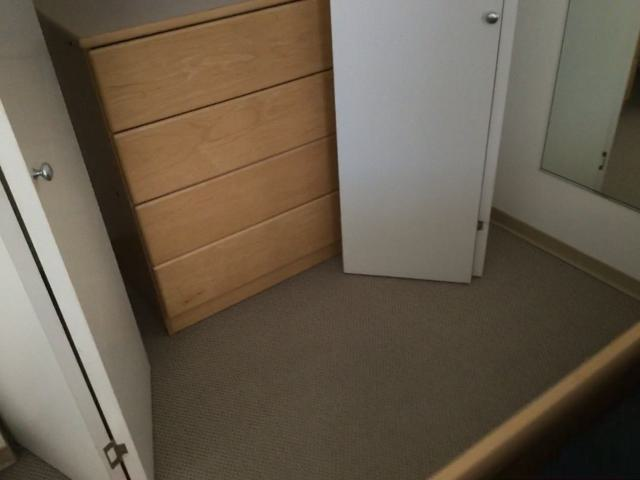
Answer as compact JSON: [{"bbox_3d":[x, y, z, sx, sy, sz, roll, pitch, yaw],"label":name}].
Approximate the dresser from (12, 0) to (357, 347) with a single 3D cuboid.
[{"bbox_3d":[-0.400,-0.350,1.970,0.800,0.980,0.660,-23,39,-26],"label":"dresser"}]
